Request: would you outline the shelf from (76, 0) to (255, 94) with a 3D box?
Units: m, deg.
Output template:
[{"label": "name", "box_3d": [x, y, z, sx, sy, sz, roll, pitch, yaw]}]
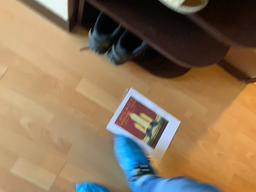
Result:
[{"label": "shelf", "box_3d": [0.170, -0.290, 0.680, 0.590, 0.680, 0.220, 33, 77, -11]}]
